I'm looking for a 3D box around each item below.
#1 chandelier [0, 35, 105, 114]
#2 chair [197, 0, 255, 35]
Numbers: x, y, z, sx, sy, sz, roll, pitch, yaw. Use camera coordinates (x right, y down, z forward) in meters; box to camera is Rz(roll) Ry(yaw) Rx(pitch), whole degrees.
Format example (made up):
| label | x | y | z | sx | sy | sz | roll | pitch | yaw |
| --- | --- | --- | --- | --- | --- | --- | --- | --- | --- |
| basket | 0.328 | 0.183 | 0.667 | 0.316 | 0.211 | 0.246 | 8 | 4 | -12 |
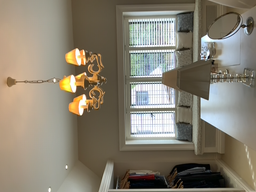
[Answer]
| label | x | y | z | sx | sy | sz | roll | pitch | yaw |
| --- | --- | --- | --- | --- | --- | --- | --- | --- | --- |
| chandelier | -0.710 | -0.210 | 2.020 | 0.700 | 0.900 | 0.620 | -90 | 180 | -82 |
| chair | 1.300 | -0.950 | 2.210 | 0.450 | 1.020 | 0.490 | 78 | 12 | -87 |
